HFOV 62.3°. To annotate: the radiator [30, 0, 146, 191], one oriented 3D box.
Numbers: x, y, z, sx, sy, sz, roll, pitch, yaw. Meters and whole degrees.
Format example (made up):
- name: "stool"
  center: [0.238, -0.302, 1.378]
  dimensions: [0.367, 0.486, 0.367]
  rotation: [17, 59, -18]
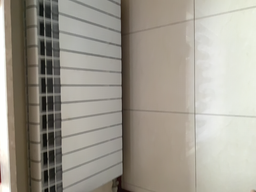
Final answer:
- name: "radiator"
  center: [-0.190, -0.080, 1.190]
  dimensions: [0.230, 0.600, 1.240]
  rotation: [7, 97, 36]
